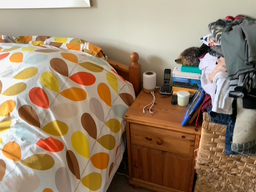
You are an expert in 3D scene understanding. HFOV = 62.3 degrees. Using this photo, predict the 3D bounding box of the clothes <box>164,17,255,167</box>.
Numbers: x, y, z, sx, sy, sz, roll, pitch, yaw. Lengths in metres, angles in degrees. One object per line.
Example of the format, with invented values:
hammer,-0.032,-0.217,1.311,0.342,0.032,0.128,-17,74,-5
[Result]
clothes,0.460,-0.080,0.980,0.410,0.430,0.580,11,33,23
